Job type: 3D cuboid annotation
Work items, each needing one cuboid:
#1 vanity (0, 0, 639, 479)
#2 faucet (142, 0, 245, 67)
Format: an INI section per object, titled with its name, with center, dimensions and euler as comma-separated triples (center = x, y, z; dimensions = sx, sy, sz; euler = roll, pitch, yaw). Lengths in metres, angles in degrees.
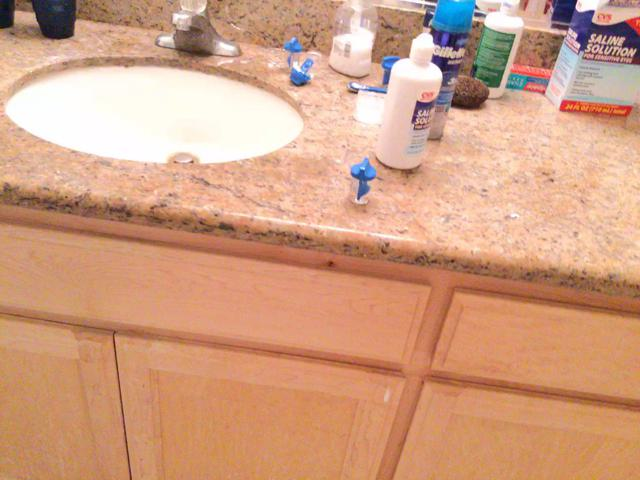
[vanity]
center = -0.030, 0.080, 1.030
dimensions = 1.380, 0.890, 0.550
euler = 9, 34, 1
[faucet]
center = -0.220, -0.390, 1.030
dimensions = 0.140, 0.100, 0.150
euler = 9, 34, 1
